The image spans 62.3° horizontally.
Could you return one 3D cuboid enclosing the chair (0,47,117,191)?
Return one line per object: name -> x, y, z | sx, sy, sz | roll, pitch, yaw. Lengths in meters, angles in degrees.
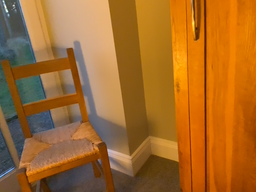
chair -> -0.420, 0.240, 1.270 | 0.460, 0.930, 0.540 | -15, 23, -21
